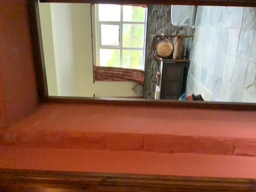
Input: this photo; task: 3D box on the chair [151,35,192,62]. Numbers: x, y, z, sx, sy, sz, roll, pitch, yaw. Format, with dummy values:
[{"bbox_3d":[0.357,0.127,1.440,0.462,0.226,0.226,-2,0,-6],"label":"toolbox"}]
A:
[{"bbox_3d":[0.890,-1.020,4.520,0.550,0.740,0.490,-86,-2,-72],"label":"chair"}]
